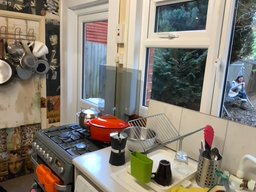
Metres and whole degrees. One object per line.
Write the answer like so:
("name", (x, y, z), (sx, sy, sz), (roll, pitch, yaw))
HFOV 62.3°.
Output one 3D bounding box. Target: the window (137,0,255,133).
("window", (0.520, -0.260, 1.330), (0.040, 0.820, 1.170), (-8, 16, -43))
